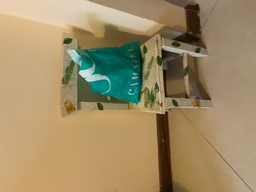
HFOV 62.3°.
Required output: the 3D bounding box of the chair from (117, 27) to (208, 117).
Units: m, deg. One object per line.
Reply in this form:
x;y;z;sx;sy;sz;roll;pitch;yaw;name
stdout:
0.120;-0.060;0.800;0.230;0.240;0.270;-10;78;55;chair
